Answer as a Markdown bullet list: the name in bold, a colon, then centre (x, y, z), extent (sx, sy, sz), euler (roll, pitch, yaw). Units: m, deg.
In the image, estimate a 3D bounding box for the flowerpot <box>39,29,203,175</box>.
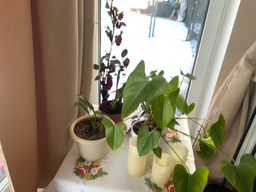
- **flowerpot**: centre (-0.020, -0.010, 1.010), extent (0.540, 0.450, 0.480), euler (7, 29, 3)
